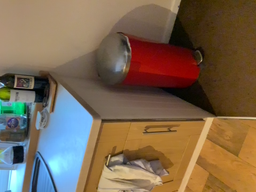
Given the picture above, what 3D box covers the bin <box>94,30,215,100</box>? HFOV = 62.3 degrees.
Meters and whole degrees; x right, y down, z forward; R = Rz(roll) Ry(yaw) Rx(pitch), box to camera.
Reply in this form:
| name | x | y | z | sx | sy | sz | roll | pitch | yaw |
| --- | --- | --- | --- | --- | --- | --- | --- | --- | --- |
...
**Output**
| name | x | y | z | sx | sy | sz | roll | pitch | yaw |
| --- | --- | --- | --- | --- | --- | --- | --- | --- | --- |
| bin | 0.180 | -0.190 | 1.400 | 0.380 | 0.660 | 0.300 | 29 | 110 | 49 |
